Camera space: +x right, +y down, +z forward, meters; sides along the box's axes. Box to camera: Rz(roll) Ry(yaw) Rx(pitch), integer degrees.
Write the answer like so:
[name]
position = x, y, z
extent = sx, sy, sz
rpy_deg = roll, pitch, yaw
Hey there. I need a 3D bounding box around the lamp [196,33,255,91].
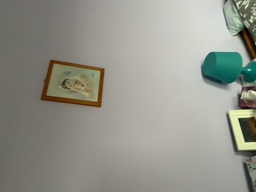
[lamp]
position = 0.600, -0.200, 1.280
extent = 0.190, 0.280, 0.230
rpy_deg = 118, 158, -57
